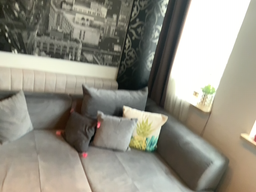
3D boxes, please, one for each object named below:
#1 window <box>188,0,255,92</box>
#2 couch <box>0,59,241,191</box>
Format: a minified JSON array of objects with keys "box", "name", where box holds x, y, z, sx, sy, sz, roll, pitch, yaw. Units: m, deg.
[{"box":[1.100,-0.690,2.320,0.190,1.200,0.500,1,23,-35],"name":"window"},{"box":[-0.690,0.370,1.650,2.550,0.910,1.410,3,21,-29],"name":"couch"}]
